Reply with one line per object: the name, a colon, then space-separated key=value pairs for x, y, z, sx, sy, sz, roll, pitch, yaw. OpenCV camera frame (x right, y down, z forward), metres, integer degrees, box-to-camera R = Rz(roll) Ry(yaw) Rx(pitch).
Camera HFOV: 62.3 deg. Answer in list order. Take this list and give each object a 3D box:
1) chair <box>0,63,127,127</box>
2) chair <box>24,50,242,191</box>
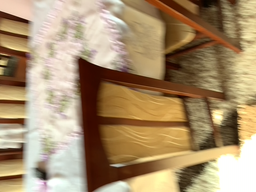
chair: x=-0.530 y=0.050 z=1.730 sx=0.530 sy=0.930 sz=0.360 roll=-11 pitch=79 yaw=44
chair: x=0.090 y=0.160 z=1.070 sx=0.510 sy=0.980 sz=0.380 roll=-24 pitch=69 yaw=41
